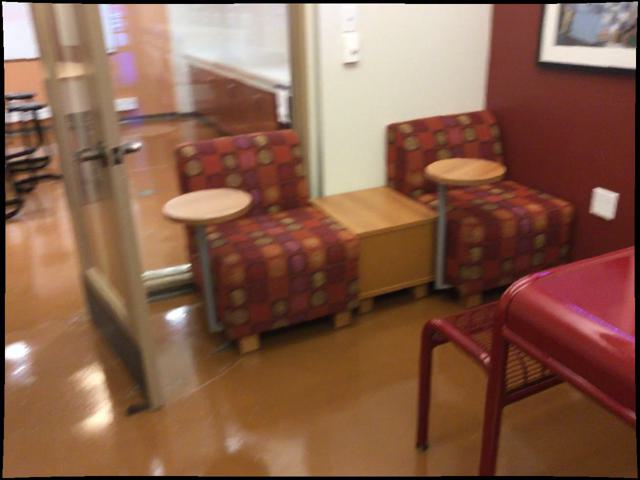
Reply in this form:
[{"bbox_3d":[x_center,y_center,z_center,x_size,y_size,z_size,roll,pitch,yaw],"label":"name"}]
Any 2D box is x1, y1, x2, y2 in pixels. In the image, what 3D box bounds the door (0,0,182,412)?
[{"bbox_3d":[-0.909,-0.190,2.230,0.150,1.441,0.950,-19,26,-32],"label":"door"}]
